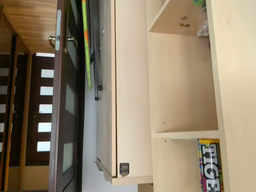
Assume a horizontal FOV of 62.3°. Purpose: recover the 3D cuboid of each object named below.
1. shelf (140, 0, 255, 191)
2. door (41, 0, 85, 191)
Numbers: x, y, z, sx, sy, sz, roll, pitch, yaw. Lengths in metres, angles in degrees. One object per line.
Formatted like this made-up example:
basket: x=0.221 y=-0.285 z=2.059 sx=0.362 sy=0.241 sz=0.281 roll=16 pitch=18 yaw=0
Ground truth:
shelf: x=0.330 y=-0.490 z=0.740 sx=0.480 sy=2.000 sz=0.440 roll=1 pitch=169 yaw=-12
door: x=-0.370 y=-0.380 z=1.390 sx=0.080 sy=2.070 sz=0.700 roll=0 pitch=170 yaw=-5
